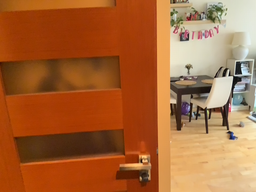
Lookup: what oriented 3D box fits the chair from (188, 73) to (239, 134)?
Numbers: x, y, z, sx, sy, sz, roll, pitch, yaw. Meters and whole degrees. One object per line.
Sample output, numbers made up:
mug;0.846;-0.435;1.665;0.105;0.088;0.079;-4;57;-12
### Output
chair;1.450;0.100;3.700;0.490;0.860;0.610;-7;17;-16
